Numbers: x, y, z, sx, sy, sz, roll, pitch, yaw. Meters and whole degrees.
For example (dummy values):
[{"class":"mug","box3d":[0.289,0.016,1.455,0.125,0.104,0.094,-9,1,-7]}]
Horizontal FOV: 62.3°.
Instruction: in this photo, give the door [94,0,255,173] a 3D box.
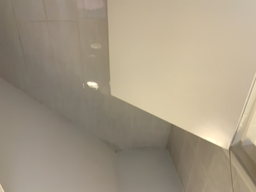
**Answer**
[{"class":"door","box3d":[0.200,-0.690,0.720,0.860,2.060,0.110,24,-142,32]}]
